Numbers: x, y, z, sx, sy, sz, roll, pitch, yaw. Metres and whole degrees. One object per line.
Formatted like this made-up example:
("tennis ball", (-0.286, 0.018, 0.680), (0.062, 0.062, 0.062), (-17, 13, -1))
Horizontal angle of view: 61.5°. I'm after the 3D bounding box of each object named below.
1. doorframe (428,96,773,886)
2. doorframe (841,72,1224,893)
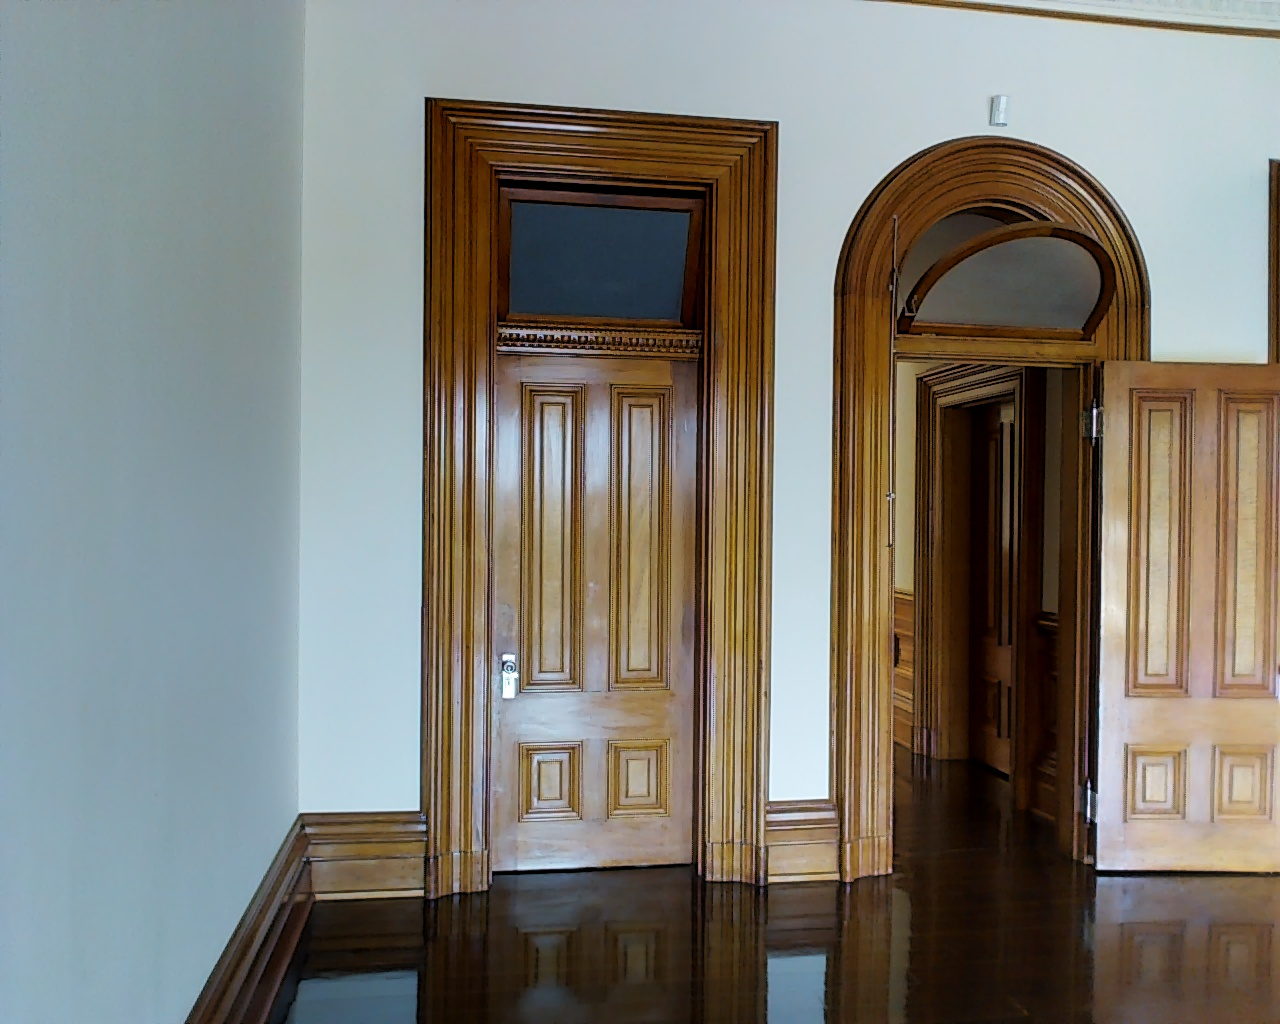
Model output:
("doorframe", (-0.170, -0.080, 4.610), (1.400, 3.190, 0.330), (1, 0, -9))
("doorframe", (1.670, -0.110, 4.630), (1.470, 3.270, 0.480), (1, 0, -9))
